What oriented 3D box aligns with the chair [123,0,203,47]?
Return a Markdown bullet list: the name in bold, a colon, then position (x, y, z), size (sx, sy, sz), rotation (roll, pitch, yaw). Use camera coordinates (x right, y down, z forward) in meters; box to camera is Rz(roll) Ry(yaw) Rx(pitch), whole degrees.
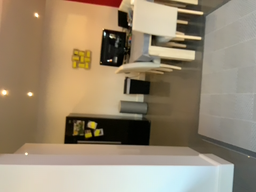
- **chair**: position (0.460, -1.010, 2.970), size (0.550, 0.940, 0.450), rotation (-169, 83, -77)
